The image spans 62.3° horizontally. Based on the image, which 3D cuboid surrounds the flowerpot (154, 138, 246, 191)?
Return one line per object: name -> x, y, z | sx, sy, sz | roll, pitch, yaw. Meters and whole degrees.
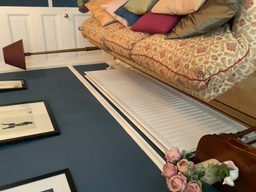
flowerpot -> 0.360, 0.420, 1.110 | 0.280, 0.330, 0.220 | 35, 129, 55
